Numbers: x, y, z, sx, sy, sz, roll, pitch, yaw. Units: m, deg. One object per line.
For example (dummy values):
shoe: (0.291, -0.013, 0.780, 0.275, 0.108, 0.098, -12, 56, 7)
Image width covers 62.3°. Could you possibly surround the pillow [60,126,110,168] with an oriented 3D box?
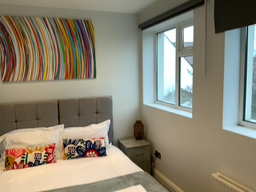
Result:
pillow: (-0.560, 0.660, 2.800, 0.570, 0.270, 0.160, -25, 16, -16)
